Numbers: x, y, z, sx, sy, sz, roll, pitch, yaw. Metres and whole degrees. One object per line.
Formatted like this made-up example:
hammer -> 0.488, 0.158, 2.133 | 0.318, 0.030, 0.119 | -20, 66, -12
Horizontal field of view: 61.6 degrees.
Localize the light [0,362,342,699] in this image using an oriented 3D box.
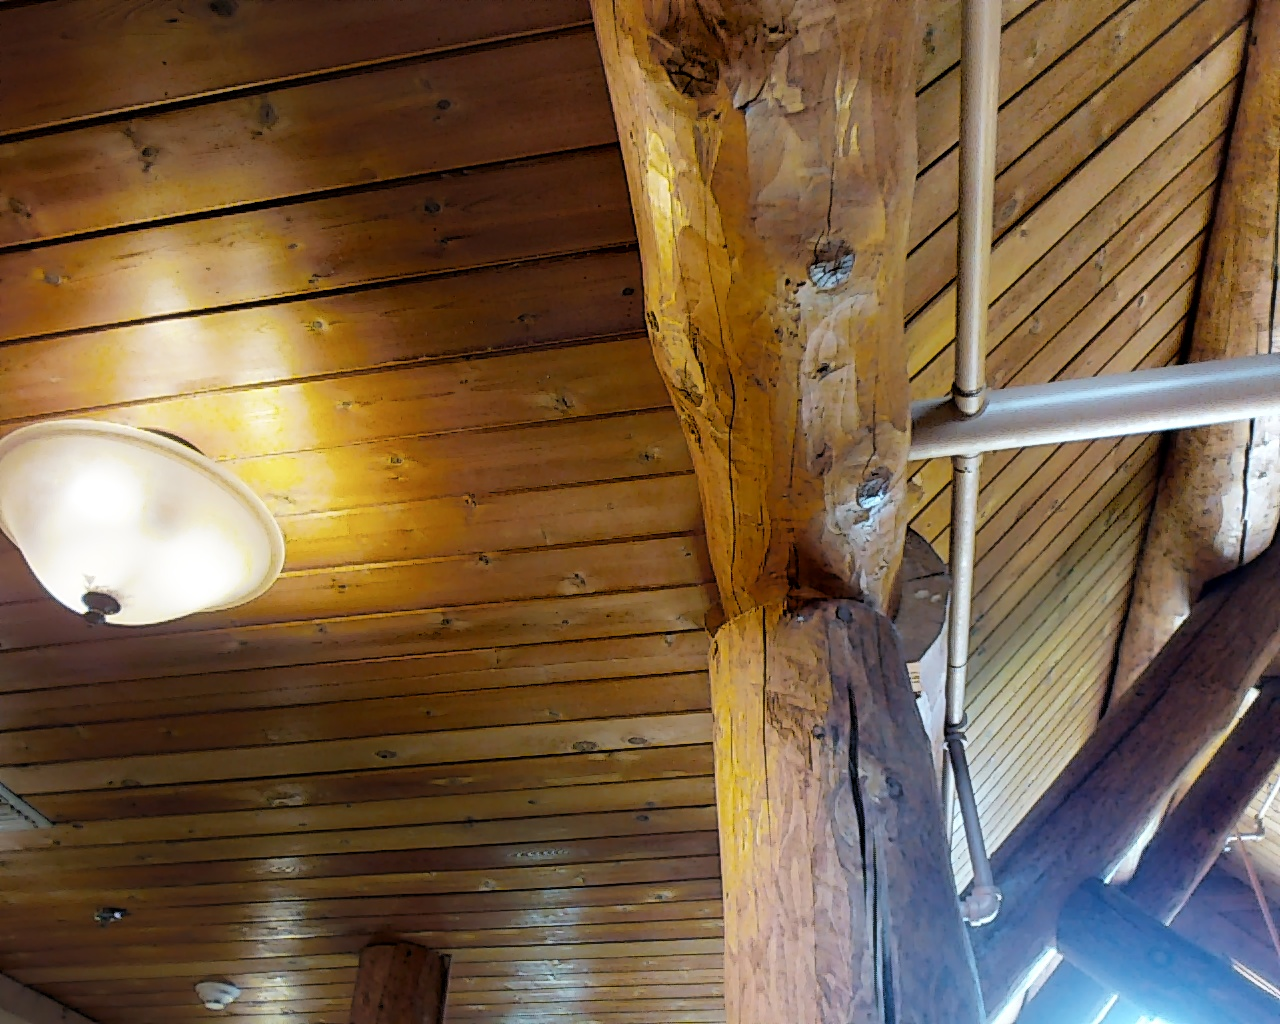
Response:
light -> -0.690, 0.040, 1.470 | 0.390, 0.230, 0.380 | -7, -42, 9
